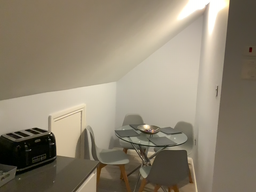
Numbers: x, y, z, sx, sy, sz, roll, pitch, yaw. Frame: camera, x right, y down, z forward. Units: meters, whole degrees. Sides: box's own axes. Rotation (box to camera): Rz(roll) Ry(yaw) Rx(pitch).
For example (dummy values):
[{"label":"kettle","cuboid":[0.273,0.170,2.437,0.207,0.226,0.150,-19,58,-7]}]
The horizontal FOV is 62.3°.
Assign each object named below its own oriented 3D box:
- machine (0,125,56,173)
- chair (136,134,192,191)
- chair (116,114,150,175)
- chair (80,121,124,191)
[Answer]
[{"label":"machine","cuboid":[-0.650,0.320,1.350,0.280,0.170,0.250,8,10,37]},{"label":"chair","cuboid":[0.340,0.850,2.200,0.420,0.790,0.450,2,7,-7]},{"label":"chair","cuboid":[0.060,0.710,3.190,0.420,0.790,0.450,2,7,-5]},{"label":"chair","cuboid":[-0.330,0.760,2.610,0.470,0.790,0.480,2,7,-9]}]
